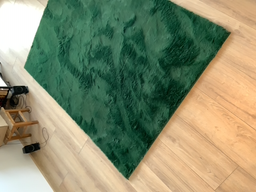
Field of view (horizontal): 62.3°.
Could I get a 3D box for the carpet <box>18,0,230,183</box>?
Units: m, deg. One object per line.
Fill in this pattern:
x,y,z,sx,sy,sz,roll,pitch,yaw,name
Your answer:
-0.270,-0.310,1.750,1.590,0.110,1.220,41,112,23,carpet
